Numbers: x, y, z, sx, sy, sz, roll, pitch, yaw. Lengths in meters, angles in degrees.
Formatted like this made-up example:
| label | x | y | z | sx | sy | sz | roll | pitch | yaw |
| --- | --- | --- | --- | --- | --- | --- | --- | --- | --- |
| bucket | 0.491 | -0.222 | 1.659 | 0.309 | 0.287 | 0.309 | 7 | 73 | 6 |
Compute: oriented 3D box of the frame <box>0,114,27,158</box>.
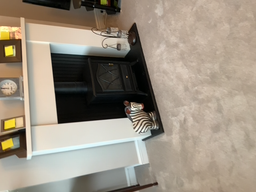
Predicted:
| label | x | y | z | sx | sy | sz | roll | pitch | yaw |
| --- | --- | --- | --- | --- | --- | --- | --- | --- | --- |
| frame | -0.900 | 0.310 | 1.630 | 0.190 | 0.200 | 0.270 | -46 | 53 | 53 |
